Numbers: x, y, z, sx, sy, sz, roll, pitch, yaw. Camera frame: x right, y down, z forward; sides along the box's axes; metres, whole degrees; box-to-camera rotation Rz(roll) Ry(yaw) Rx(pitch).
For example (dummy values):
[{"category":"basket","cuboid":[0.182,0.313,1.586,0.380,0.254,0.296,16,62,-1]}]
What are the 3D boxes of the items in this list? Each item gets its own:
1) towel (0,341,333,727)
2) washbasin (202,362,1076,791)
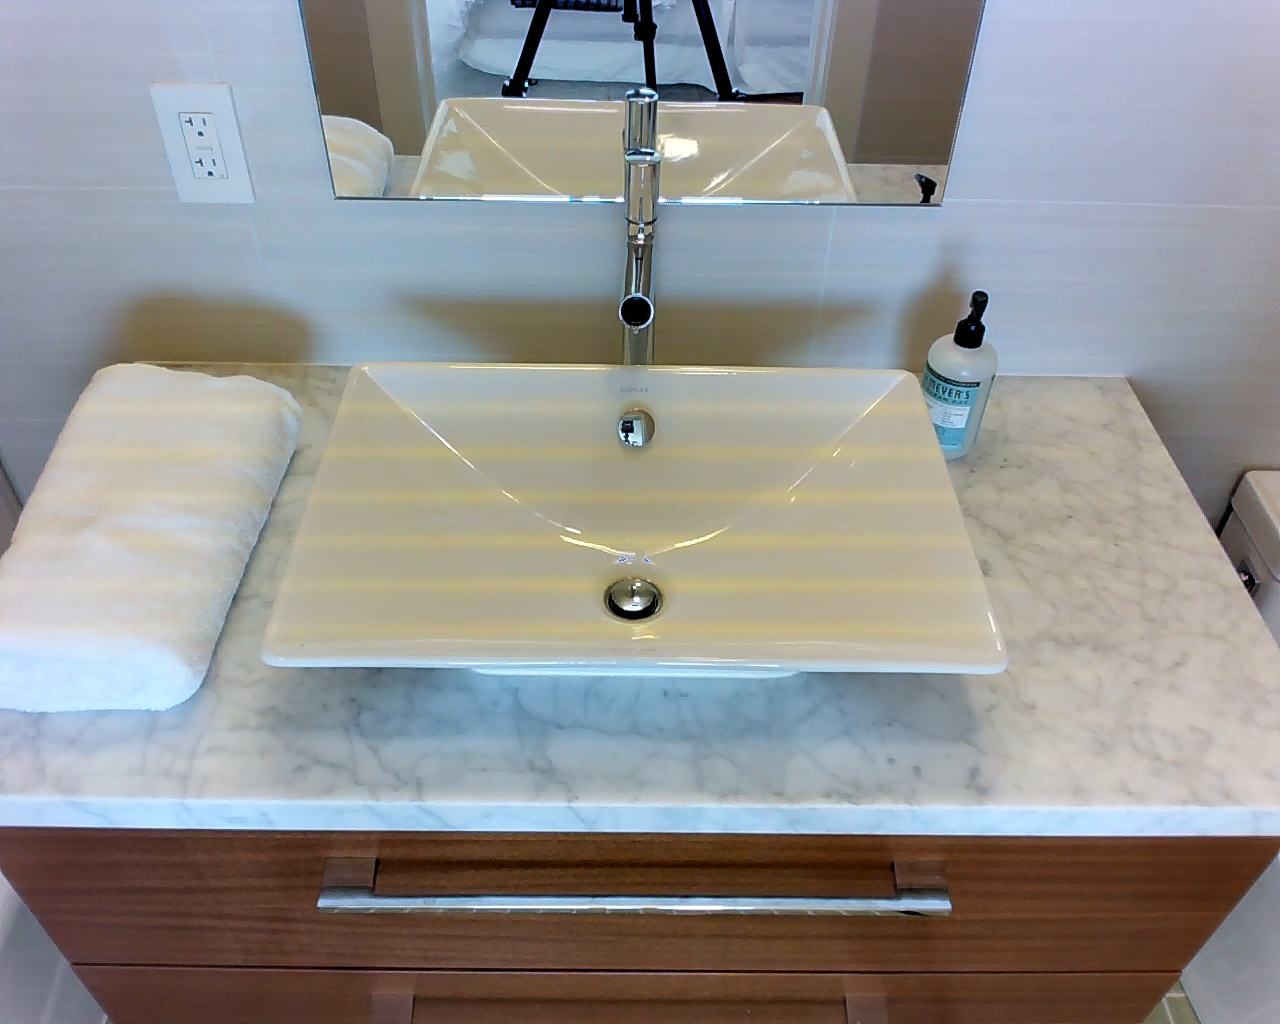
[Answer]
[{"category":"towel","cuboid":[-0.440,0.000,0.960,0.230,0.100,0.390,1,42,0]},{"category":"washbasin","cuboid":[0.000,0.040,0.950,0.620,0.150,0.370,1,42,0]}]
